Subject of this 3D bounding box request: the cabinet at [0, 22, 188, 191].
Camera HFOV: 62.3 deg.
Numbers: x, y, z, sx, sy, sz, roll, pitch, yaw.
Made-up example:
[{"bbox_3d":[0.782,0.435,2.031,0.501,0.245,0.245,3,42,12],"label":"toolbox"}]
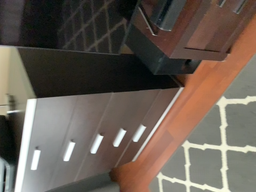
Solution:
[{"bbox_3d":[-0.330,0.120,1.590,0.640,1.040,0.950,55,132,33],"label":"cabinet"}]
